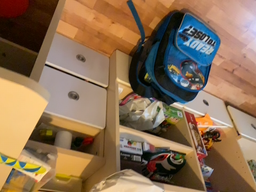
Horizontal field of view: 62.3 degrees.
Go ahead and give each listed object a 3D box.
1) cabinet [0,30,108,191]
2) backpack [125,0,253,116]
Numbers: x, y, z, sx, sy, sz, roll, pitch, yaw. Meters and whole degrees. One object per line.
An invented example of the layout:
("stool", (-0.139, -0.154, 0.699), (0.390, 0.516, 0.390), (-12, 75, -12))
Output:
("cabinet", (-0.350, 0.080, 1.080), (0.320, 0.650, 0.440), (21, 133, -25))
("backpack", (0.280, -0.170, 1.080), (0.430, 0.320, 0.360), (17, 135, -30))
